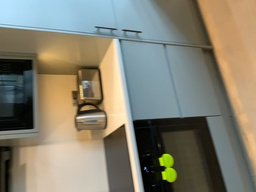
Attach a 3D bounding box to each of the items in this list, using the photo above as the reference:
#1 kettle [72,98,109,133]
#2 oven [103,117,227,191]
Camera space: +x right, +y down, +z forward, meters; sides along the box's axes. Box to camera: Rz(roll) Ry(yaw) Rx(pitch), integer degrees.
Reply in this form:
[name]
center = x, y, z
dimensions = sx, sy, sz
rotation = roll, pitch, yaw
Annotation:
[kettle]
center = -0.310, 0.160, 1.720
dimensions = 0.190, 0.240, 0.230
rotation = 136, 129, -59
[oven]
center = 0.220, 0.540, 1.580
dimensions = 0.600, 0.610, 0.590
rotation = 136, 129, -59
